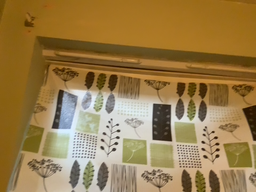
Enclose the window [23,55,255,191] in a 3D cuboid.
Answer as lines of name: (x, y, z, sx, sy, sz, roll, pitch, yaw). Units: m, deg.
window: (0.180, 0.260, 0.950, 1.180, 0.840, 0.060, 4, -16, -4)
